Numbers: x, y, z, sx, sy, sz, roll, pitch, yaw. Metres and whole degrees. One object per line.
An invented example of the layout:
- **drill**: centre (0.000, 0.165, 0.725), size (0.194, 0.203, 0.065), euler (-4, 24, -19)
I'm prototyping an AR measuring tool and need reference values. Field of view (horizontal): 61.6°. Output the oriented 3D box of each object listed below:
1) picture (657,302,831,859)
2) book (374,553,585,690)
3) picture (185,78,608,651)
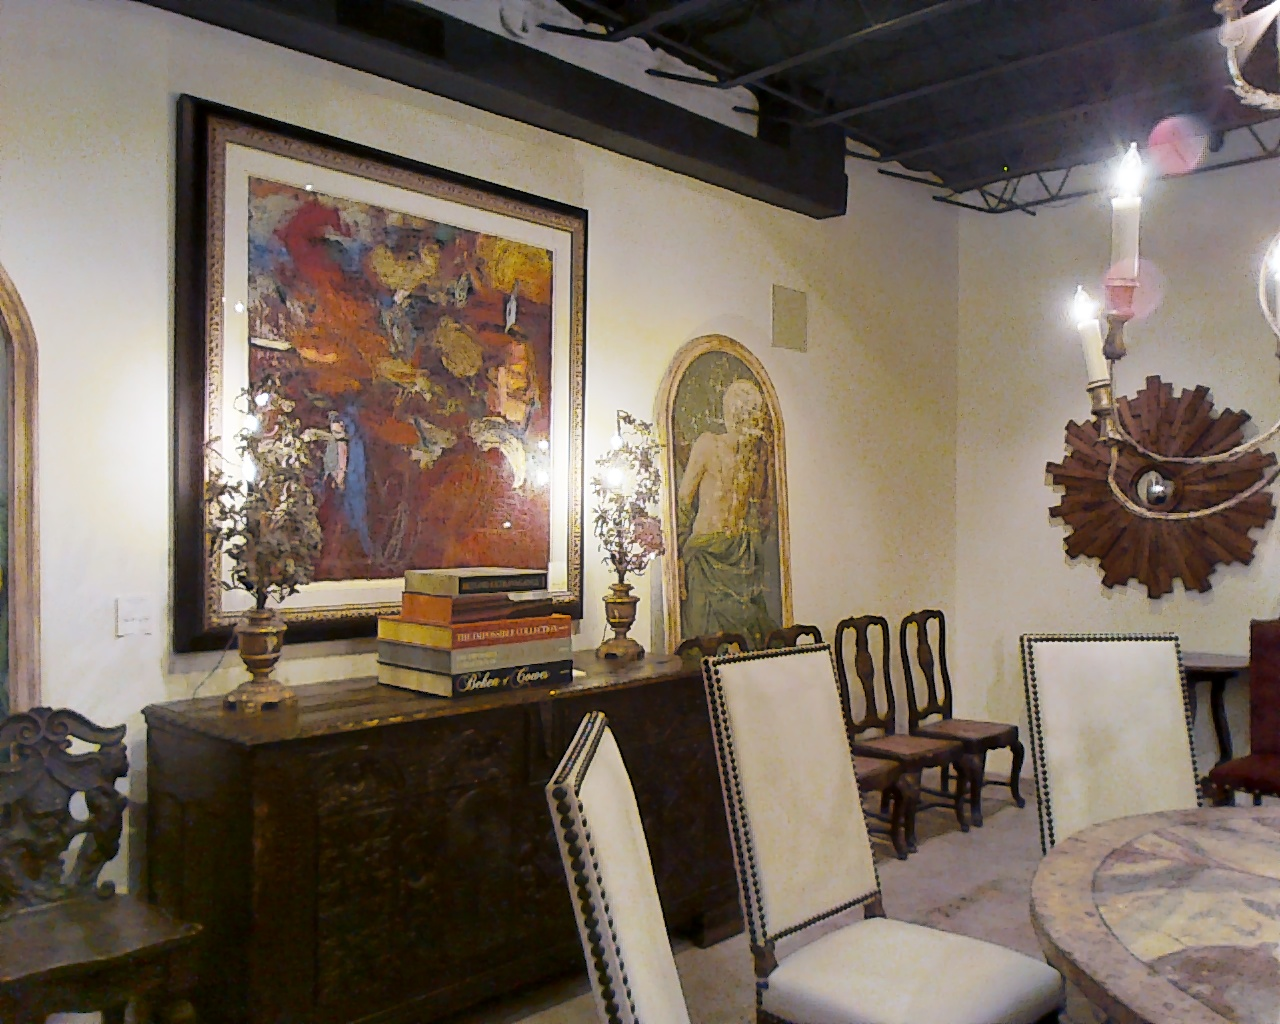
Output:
- **picture**: centre (0.490, 0.300, 4.860), size (0.090, 2.350, 0.910), euler (6, 4, 43)
- **book**: centre (-0.510, 0.330, 3.430), size (0.430, 0.370, 0.510), euler (0, 0, 43)
- **picture**: centre (-0.730, -0.420, 3.680), size (0.130, 1.630, 1.610), euler (0, 0, 44)
